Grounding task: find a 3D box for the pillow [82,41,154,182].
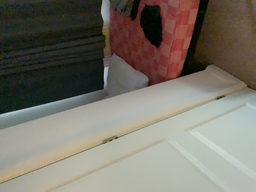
[{"bbox_3d":[-0.150,0.170,2.140,0.750,0.290,1.180,48,144,43],"label":"pillow"}]
